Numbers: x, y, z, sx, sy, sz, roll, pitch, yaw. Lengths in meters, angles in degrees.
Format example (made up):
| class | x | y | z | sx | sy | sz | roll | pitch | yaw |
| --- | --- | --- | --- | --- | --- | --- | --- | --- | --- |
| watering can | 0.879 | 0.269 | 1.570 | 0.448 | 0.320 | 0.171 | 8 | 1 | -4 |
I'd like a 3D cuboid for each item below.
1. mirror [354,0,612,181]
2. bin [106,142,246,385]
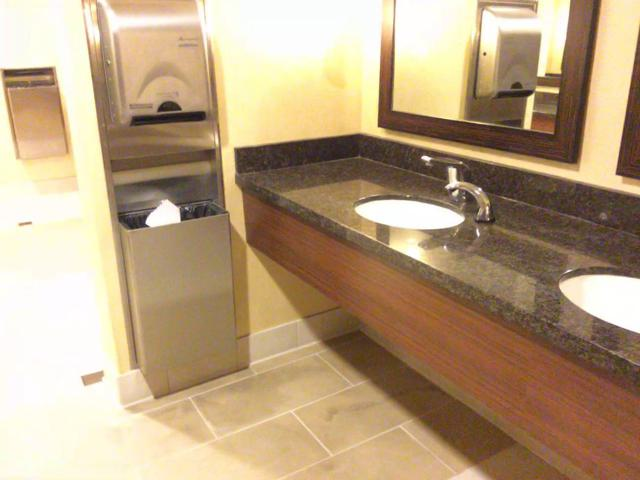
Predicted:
| class | x | y | z | sx | sy | sz | roll | pitch | yaw |
| --- | --- | --- | --- | --- | --- | --- | --- | --- | --- |
| mirror | 0.460 | -0.620 | 1.980 | 0.100 | 0.630 | 1.050 | -10 | 21 | -29 |
| bin | -0.530 | 0.080 | 2.200 | 0.430 | 0.850 | 0.190 | -10 | 21 | -29 |
